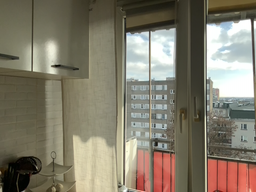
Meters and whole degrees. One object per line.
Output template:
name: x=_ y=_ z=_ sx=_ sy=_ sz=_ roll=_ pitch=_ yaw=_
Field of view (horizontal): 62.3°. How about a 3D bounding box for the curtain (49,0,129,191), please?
curtain: x=-0.250 y=0.280 z=1.290 sx=0.490 sy=2.430 sz=0.130 roll=0 pitch=0 yaw=26
